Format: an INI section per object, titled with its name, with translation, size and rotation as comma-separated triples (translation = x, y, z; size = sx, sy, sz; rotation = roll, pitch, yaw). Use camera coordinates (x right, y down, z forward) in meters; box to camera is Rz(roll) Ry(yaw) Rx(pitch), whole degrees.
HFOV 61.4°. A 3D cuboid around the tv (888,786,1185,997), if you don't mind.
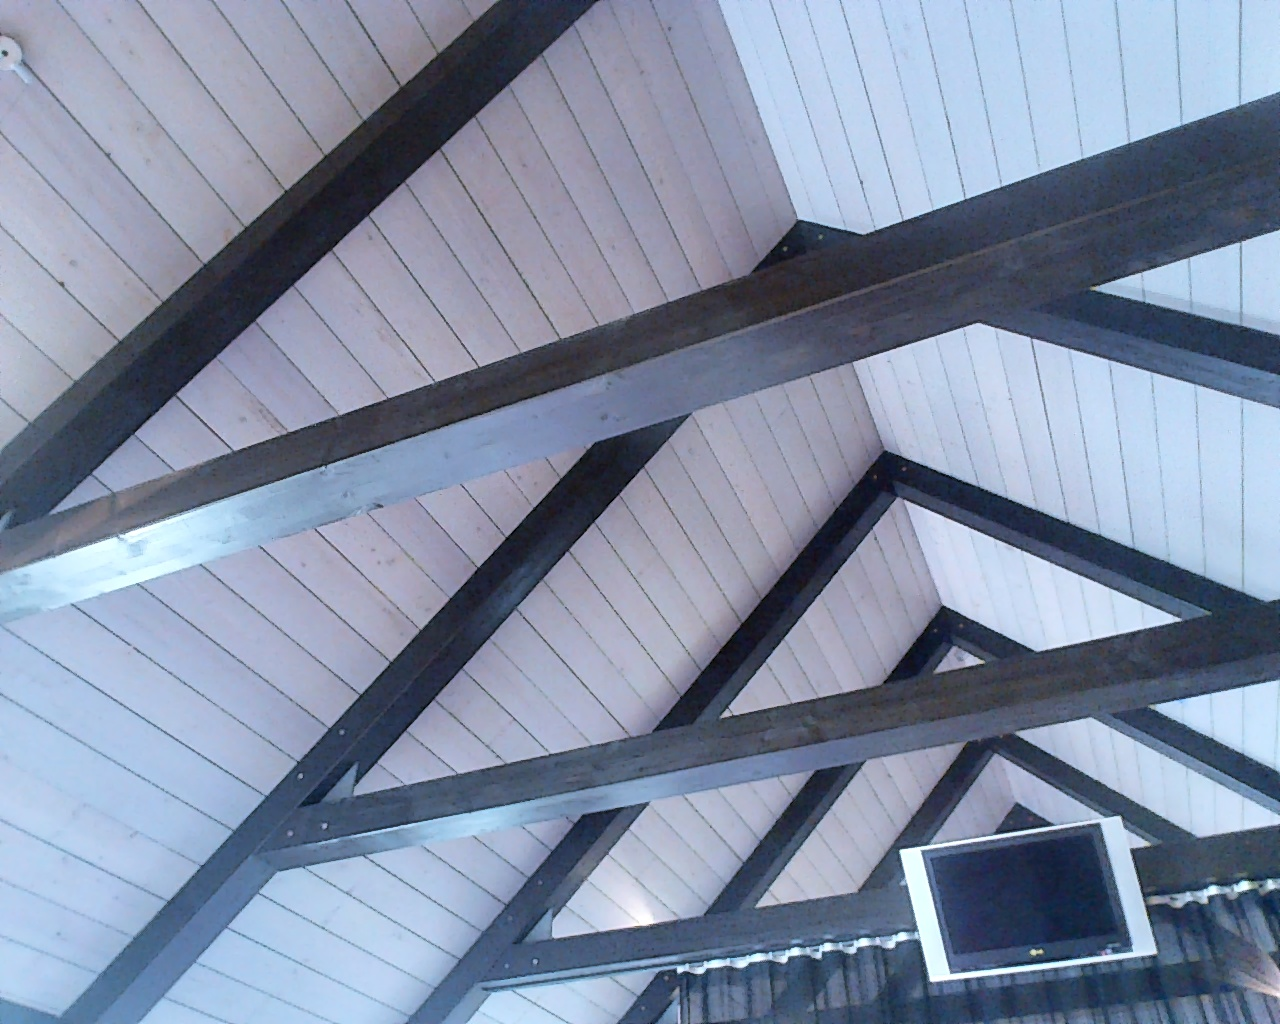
[tv]
translation = 1.399, 1.371, 3.860
size = 0.870, 0.500, 0.380
rotation = -16, -43, 18
